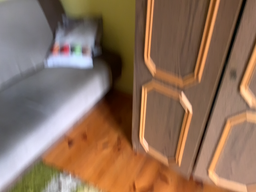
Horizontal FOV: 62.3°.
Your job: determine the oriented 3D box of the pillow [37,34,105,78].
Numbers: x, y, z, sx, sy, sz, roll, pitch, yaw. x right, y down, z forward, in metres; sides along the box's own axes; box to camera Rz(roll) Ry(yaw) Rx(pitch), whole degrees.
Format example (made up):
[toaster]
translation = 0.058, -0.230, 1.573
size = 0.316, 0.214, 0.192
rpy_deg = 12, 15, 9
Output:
[pillow]
translation = -0.480, -0.370, 1.890
size = 0.420, 0.160, 0.430
rpy_deg = 11, 38, 12
